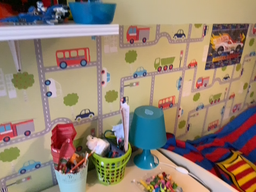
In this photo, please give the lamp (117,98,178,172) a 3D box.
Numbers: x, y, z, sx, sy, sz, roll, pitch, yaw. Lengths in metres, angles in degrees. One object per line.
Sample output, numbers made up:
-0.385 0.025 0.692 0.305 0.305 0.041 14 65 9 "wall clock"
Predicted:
0.090 0.180 1.060 0.210 0.260 0.190 -13 28 -34 "lamp"
